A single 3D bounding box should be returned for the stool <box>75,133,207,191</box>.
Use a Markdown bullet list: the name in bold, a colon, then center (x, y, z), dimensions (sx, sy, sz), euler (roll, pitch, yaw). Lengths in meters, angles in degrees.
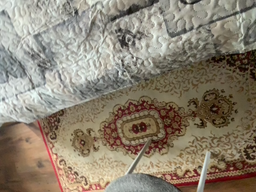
- **stool**: center (0.100, 0.400, 0.860), dimensions (0.330, 0.450, 0.320), euler (-16, 92, 25)
